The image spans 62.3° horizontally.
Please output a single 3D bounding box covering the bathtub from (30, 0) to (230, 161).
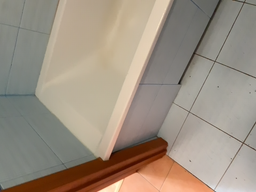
[{"bbox_3d":[0.090,-0.560,1.170,0.690,0.610,1.570,33,110,32],"label":"bathtub"}]
